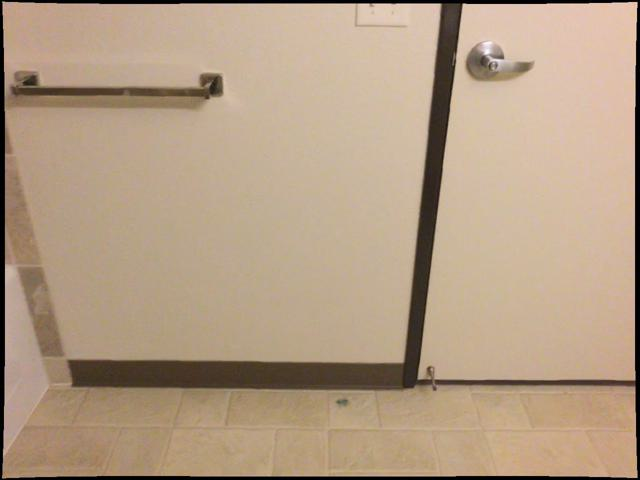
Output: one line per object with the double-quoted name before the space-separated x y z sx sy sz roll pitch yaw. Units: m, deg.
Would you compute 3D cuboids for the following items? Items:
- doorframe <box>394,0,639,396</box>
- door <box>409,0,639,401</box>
"doorframe" 0.798 -0.371 1.450 1.097 1.964 0.050 -1 29 -2
"door" 0.808 -0.351 1.450 1.017 1.904 0.080 -1 28 -2
